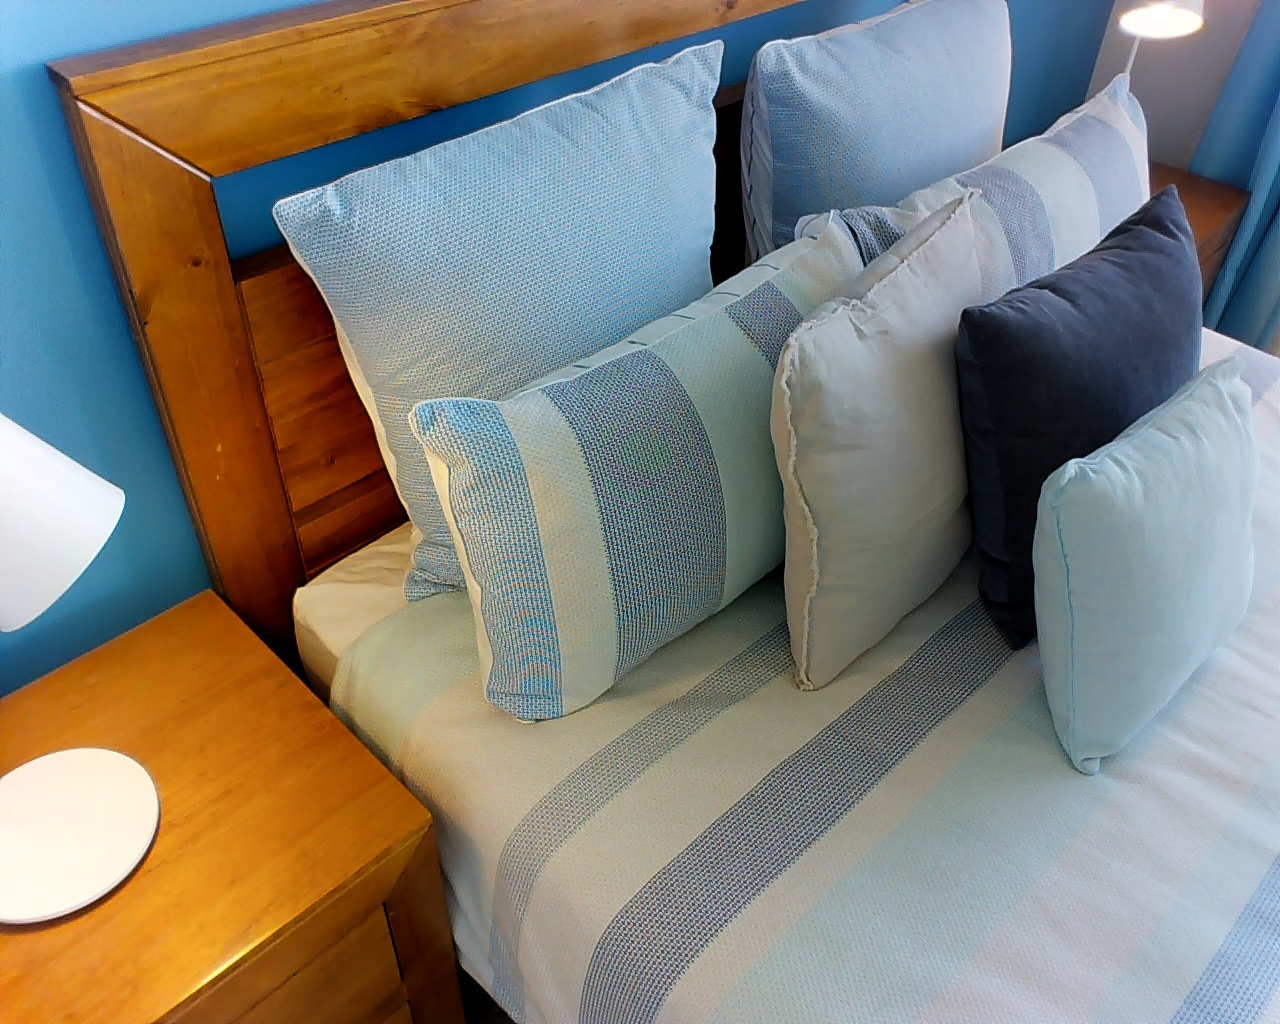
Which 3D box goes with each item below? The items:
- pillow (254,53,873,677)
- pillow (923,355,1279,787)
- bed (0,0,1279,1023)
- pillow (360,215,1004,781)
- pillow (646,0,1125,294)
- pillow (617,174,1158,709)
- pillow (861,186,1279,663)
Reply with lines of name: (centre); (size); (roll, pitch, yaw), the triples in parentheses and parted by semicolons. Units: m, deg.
pillow: (-0.090, -0.230, 1.370); (0.280, 0.600, 0.700); (34, 39, 31)
pillow: (0.580, 0.040, 1.220); (0.210, 0.370, 0.420); (34, 29, 32)
bed: (0.790, 0.220, 1.200); (2.250, 1.220, 1.840); (34, 50, 31)
pillow: (0.070, -0.070, 1.250); (0.250, 0.440, 0.720); (35, 36, 32)
pillow: (0.410, -0.620, 1.700); (0.310, 0.430, 0.720); (34, 31, 31)
pillow: (0.300, -0.120, 1.300); (0.270, 0.470, 0.550); (34, 37, 31)
pillow: (0.580, -0.140, 1.370); (0.230, 0.440, 0.530); (33, 38, 30)
